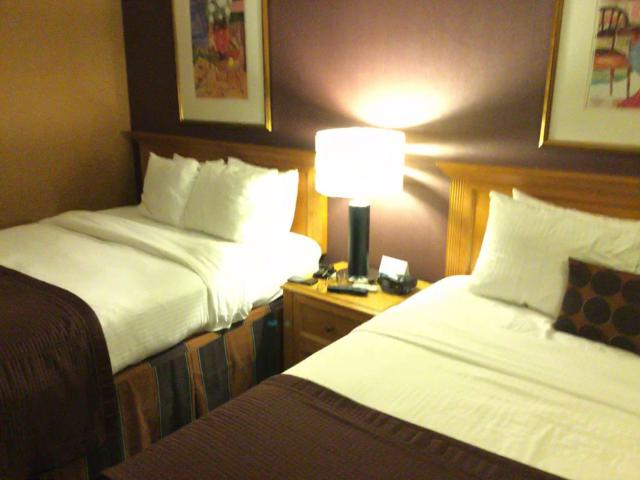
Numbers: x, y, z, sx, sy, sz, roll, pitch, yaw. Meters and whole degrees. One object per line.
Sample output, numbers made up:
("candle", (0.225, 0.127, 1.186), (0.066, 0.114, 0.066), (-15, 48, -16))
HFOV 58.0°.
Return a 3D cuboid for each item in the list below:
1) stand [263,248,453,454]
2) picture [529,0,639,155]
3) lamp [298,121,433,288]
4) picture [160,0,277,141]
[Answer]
("stand", (0.160, 0.460, 2.690), (0.710, 0.660, 0.480), (12, 17, 37))
("picture", (1.130, -0.730, 1.890), (0.770, 0.890, 0.100), (12, 17, 37))
("lamp", (0.200, -0.190, 2.580), (0.400, 0.650, 0.440), (12, 17, 37))
("picture", (-0.570, -1.100, 3.150), (0.830, 1.060, 0.090), (12, 17, 37))
